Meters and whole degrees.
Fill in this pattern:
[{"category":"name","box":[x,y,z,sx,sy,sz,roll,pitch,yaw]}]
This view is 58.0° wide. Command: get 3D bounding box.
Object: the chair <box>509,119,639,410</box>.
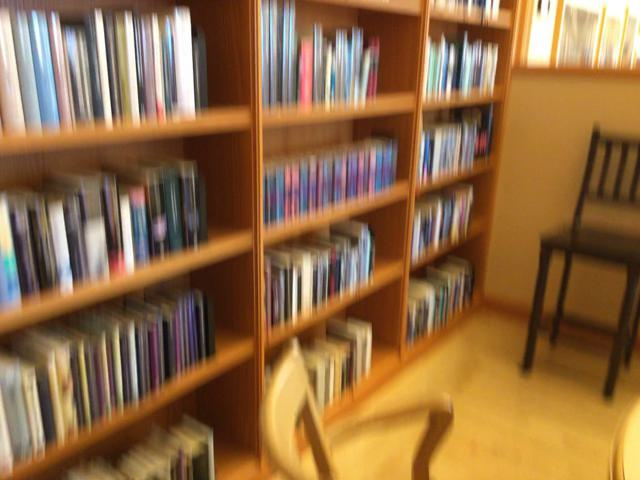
[{"category":"chair","box":[1.220,0.070,2.590,0.470,1.130,0.520,13,23,35]}]
